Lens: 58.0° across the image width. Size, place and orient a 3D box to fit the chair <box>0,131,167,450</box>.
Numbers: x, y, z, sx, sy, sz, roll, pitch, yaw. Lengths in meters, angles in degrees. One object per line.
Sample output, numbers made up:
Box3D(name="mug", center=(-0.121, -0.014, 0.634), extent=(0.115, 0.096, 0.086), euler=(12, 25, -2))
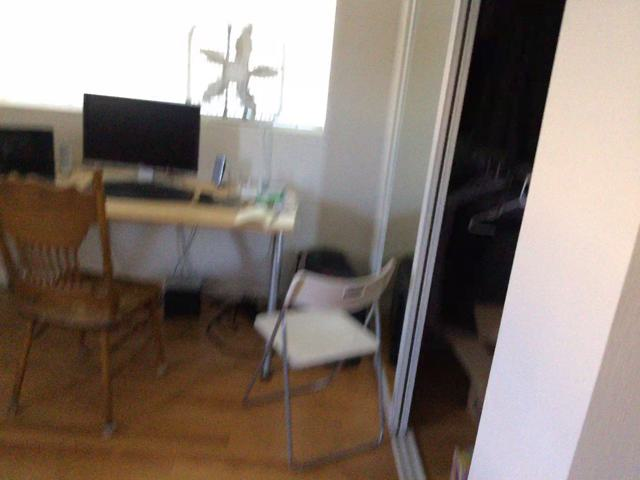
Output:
Box3D(name="chair", center=(-0.960, 0.160, 2.240), extent=(0.570, 1.050, 0.590), euler=(5, 15, -5))

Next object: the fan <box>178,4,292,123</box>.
Box3D(name="fan", center=(-0.460, -0.950, 3.160), extent=(0.560, 0.540, 0.250), euler=(5, 15, -5))

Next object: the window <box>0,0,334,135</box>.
Box3D(name="window", center=(-0.850, -1.170, 3.000), extent=(1.790, 1.020, 0.450), euler=(5, 15, -5))

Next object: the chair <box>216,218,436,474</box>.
Box3D(name="chair", center=(-0.010, 0.360, 2.330), extent=(0.570, 0.760, 0.600), euler=(-4, 18, -33))
